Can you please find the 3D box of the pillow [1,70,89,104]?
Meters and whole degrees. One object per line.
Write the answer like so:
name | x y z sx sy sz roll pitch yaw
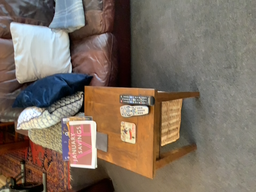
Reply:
pillow | -0.570 -0.070 1.550 0.490 0.500 0.190 -174 82 -73

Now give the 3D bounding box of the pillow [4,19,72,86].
pillow | -0.700 -0.330 1.690 0.140 0.460 0.480 -170 78 -68

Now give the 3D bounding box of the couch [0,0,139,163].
couch | -0.620 -0.810 1.750 1.030 0.860 2.290 0 93 42

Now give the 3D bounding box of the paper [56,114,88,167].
paper | -0.370 0.280 1.390 0.190 0.110 0.290 4 96 42

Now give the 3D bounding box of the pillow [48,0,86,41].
pillow | -0.500 -0.830 1.690 0.400 0.090 0.700 2 94 42
